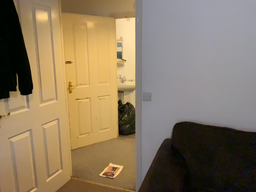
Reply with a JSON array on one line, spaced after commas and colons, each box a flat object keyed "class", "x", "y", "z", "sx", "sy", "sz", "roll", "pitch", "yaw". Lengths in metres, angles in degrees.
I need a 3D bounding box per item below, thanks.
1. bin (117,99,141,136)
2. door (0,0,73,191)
[{"class": "bin", "x": 0.030, "y": 0.390, "z": 3.990, "sx": 0.340, "sy": 0.530, "sz": 0.580, "roll": 2, "pitch": 12, "yaw": 12}, {"class": "door", "x": -0.860, "y": 0.080, "z": 1.930, "sx": 0.080, "sy": 2.040, "sz": 0.880, "roll": 4, "pitch": 12, "yaw": 20}]
